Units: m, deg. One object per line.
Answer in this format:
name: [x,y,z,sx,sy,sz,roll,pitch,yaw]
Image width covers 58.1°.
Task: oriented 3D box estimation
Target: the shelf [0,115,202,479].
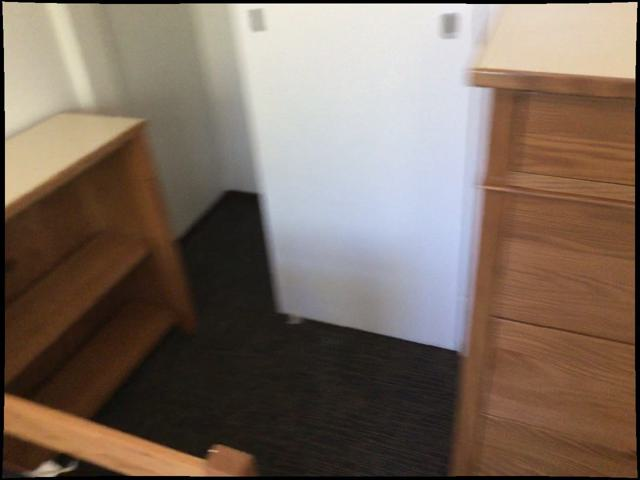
shelf: [-0.758,0.180,1.580,0.379,0.761,0.790,9,36,19]
